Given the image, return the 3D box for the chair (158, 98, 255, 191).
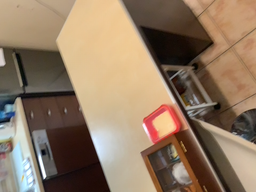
[{"bbox_3d":[0.550,0.270,1.080,0.350,0.730,0.400,20,107,43],"label":"chair"}]
